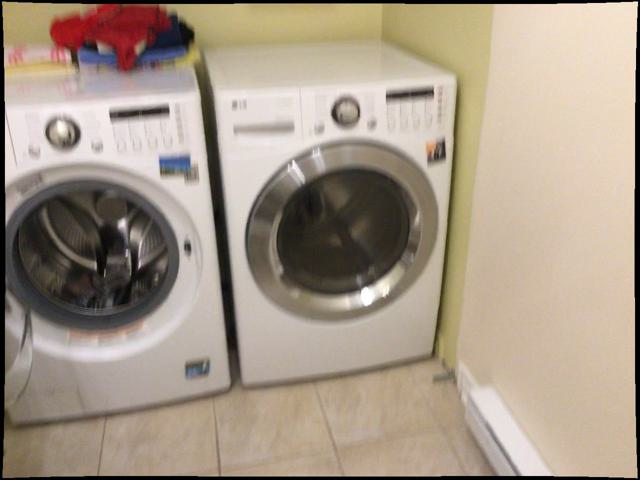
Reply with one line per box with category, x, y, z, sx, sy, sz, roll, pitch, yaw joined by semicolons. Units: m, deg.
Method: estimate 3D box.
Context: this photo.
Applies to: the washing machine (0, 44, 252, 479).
washing machine;-0.699;0.090;1.630;0.849;0.991;1.280;-7;29;-10
